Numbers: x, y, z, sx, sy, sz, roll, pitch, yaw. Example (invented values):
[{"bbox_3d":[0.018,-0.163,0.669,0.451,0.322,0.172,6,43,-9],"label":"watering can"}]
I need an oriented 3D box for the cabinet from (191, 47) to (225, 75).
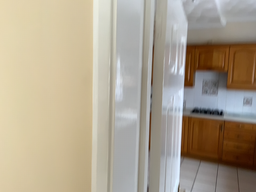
[{"bbox_3d":[1.550,-0.670,4.130,0.570,0.510,0.310,4,7,23],"label":"cabinet"}]

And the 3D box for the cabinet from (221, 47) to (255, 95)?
[{"bbox_3d":[2.300,-0.450,3.820,1.090,0.830,0.320,4,7,23],"label":"cabinet"}]

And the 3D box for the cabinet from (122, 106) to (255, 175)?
[{"bbox_3d":[1.230,0.790,4.250,2.680,0.890,0.610,4,7,23],"label":"cabinet"}]
